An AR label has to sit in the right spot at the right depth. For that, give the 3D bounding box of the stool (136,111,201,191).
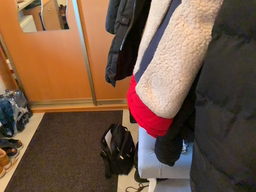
[{"bbox_3d":[0.220,0.410,1.340,0.310,0.490,0.400,-1,36,4],"label":"stool"}]
